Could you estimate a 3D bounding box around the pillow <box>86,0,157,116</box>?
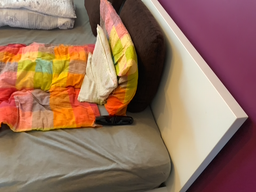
[{"bbox_3d":[-0.080,-0.230,1.120,0.240,0.330,0.580,-2,46,-14],"label":"pillow"}]
